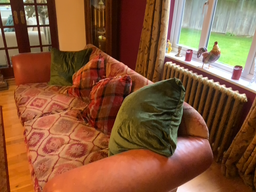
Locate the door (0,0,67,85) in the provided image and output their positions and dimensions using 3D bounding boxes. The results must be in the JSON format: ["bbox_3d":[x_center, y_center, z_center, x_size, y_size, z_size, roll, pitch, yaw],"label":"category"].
[{"bbox_3d":[-1.660,-1.260,3.400,1.160,2.080,0.240,-11,30,-28],"label":"door"}]
